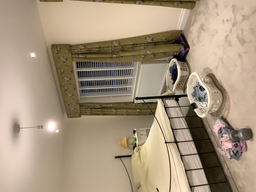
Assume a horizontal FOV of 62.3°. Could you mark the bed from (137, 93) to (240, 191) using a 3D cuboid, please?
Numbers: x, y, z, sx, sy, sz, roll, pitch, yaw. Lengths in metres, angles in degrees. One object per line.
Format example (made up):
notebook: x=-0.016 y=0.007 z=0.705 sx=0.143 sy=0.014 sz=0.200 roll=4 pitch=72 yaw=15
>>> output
bed: x=0.740 y=1.240 z=3.600 sx=2.080 sy=0.680 sz=1.570 roll=98 pitch=166 yaw=-49
